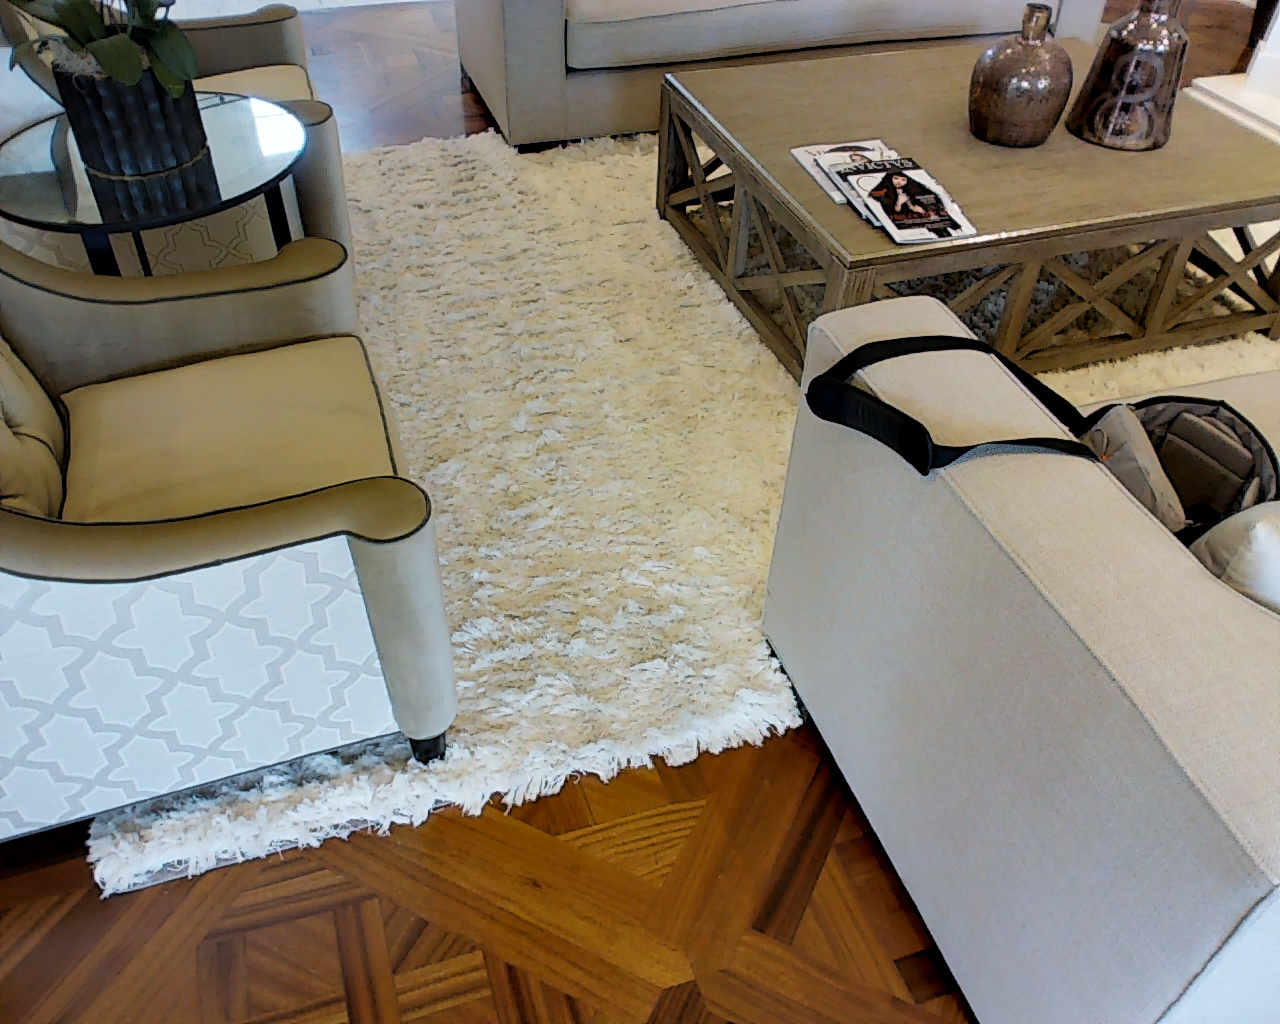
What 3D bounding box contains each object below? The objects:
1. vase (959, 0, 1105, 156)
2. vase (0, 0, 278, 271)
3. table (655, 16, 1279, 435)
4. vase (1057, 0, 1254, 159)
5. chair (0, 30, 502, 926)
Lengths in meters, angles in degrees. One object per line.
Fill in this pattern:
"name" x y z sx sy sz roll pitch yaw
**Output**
"vase" 1.060 -1.190 2.920 0.260 0.310 0.250 19 45 19
"vase" -1.050 -0.830 2.270 0.350 0.490 0.300 14 43 13
"table" 1.010 -0.950 3.220 1.590 0.520 1.270 -11 43 -14
"vase" 1.390 -1.250 2.910 0.270 0.460 0.280 -11 43 -14
"chair" -0.870 -0.090 1.840 1.000 1.020 1.000 -11 43 -14
